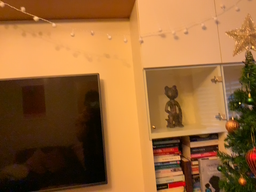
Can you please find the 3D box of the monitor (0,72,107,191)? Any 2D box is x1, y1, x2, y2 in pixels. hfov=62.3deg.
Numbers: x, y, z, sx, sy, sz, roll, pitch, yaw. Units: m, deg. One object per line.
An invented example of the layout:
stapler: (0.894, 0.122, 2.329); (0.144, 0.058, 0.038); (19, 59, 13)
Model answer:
monitor: (-0.780, 0.240, 1.270); (1.250, 0.690, 0.050); (-4, -3, -9)
